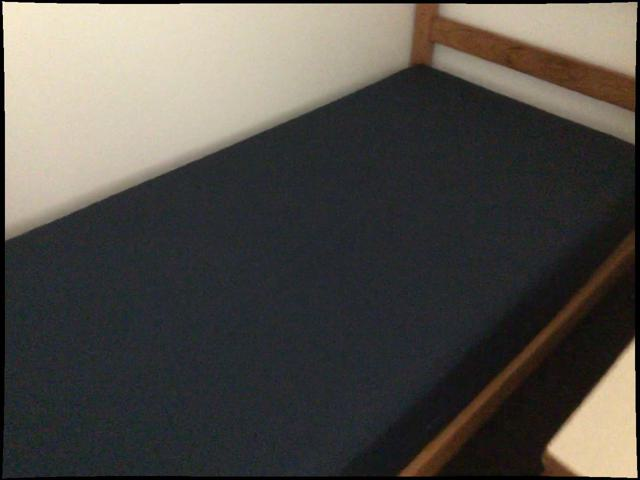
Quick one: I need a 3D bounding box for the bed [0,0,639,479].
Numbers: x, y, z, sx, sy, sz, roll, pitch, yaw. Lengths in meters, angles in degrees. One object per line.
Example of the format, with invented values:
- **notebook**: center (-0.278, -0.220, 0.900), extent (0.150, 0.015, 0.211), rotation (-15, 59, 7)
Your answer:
- **bed**: center (-0.070, 0.020, 1.310), extent (2.238, 0.971, 1.069), rotation (-32, 49, -32)
